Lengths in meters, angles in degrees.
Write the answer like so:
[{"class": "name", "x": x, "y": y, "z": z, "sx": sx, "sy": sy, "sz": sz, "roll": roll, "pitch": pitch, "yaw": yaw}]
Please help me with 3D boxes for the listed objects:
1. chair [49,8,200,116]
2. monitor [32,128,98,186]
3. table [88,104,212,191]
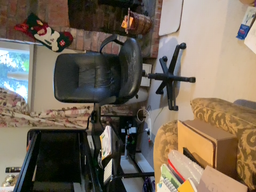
[{"class": "chair", "x": -0.090, "y": -0.200, "z": 2.010, "sx": 0.780, "sy": 1.170, "sz": 0.670, "roll": 146, "pitch": 125, "yaw": -68}, {"class": "monitor", "x": -0.670, "y": 0.610, "z": 2.300, "sx": 0.750, "sy": 0.590, "sz": 0.060, "roll": -115, "pitch": 33, "yaw": -56}, {"class": "table", "x": 0.040, "y": 0.570, "z": 2.210, "sx": 1.470, "sy": 0.710, "sz": 0.620, "roll": -144, "pitch": 59, "yaw": -69}]
